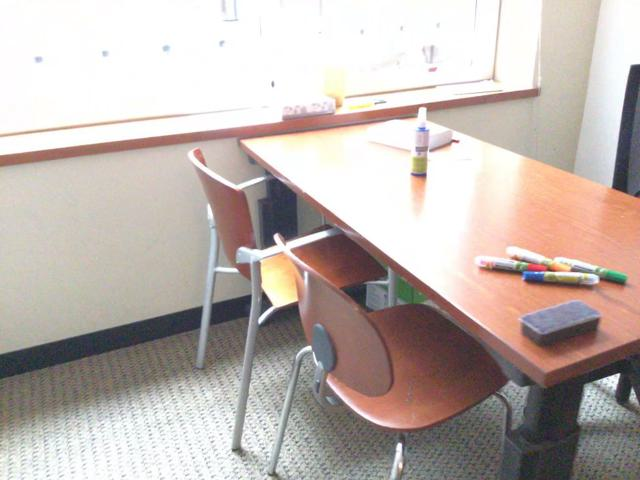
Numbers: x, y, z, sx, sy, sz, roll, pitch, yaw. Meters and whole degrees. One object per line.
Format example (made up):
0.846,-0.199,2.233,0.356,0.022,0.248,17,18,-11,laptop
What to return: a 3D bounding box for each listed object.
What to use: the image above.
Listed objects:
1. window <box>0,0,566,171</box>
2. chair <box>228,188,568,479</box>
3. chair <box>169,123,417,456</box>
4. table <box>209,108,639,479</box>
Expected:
-0.130,-1.010,2.150,2.190,1.090,0.520,-11,25,-18,window
0.150,0.190,1.350,0.590,0.420,0.460,-11,25,-18,chair
-0.090,0.110,1.850,0.580,0.800,0.550,-11,25,-18,chair
0.320,0.200,1.720,0.910,0.830,1.490,-11,25,-18,table
